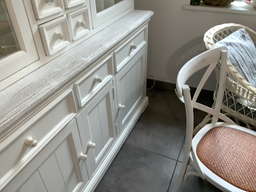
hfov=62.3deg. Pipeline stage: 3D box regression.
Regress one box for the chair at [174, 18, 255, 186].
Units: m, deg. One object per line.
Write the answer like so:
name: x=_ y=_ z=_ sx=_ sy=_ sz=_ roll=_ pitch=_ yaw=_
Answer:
chair: x=0.840 y=-0.010 z=1.530 sx=0.590 sy=0.830 sz=0.710 roll=-23 pitch=41 yaw=-27
